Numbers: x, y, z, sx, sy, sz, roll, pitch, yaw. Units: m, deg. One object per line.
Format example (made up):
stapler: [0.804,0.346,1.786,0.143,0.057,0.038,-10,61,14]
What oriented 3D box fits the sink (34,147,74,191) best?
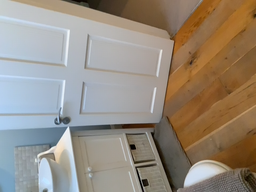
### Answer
sink: [-0.570,0.670,1.600,0.450,0.150,0.390,-51,48,41]

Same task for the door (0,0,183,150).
door: [-0.510,-0.130,1.430,0.160,2.140,0.920,23,107,54]
